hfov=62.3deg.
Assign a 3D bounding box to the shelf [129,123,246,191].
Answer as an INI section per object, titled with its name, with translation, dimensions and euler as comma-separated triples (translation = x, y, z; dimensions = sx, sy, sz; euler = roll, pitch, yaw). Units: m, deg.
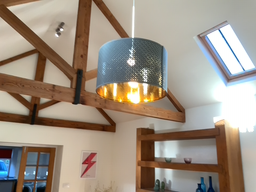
[shelf]
translation = 0.810, 1.710, 3.510
dimensions = 0.430, 2.280, 2.090
euler = 12, -19, -35
